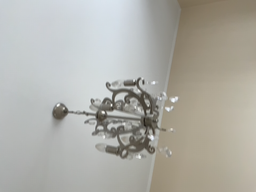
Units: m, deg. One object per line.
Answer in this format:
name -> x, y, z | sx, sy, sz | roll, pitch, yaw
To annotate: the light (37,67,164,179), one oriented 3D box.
light -> -0.080, 0.120, 1.200 | 0.500, 0.430, 0.610 | 4, -3, 13
